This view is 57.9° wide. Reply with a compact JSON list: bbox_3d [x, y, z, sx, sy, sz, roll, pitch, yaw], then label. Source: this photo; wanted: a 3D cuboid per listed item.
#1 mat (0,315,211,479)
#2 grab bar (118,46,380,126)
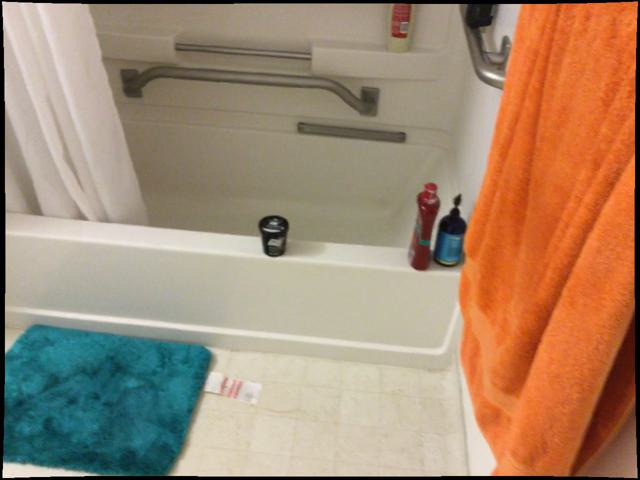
[{"bbox_3d":[-0.659,0.420,1.580,0.619,0.040,0.460,6,39,2],"label":"mat"},{"bbox_3d":[-0.230,-0.521,1.950,0.849,0.140,0.130,6,39,2],"label":"grab bar"}]
